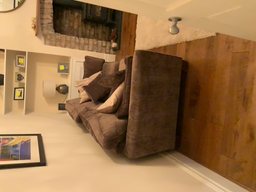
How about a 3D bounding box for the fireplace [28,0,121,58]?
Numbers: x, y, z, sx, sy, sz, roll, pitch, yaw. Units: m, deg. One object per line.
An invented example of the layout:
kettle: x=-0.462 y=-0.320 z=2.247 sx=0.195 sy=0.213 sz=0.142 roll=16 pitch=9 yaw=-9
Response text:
fireplace: x=-0.920 y=-1.620 z=3.750 sx=0.650 sy=1.450 sz=1.630 roll=9 pitch=95 yaw=64
